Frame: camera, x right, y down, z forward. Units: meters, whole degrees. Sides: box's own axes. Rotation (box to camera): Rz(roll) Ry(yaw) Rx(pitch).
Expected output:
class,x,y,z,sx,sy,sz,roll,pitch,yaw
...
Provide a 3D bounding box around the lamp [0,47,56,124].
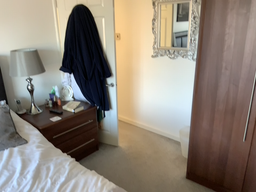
class,x,y,z,sx,sy,sz,roll,pitch,yaw
lamp,-1.060,-0.130,2.210,0.340,0.690,0.380,15,25,37
